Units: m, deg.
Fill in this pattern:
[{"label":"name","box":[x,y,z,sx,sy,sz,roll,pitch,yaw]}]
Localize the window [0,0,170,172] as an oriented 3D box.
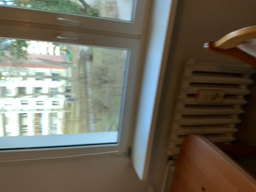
[{"label":"window","box":[-0.330,-0.640,1.250,0.150,1.220,2.460,-129,44,-61]}]
